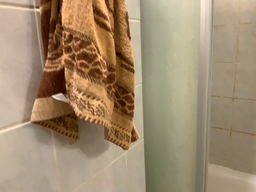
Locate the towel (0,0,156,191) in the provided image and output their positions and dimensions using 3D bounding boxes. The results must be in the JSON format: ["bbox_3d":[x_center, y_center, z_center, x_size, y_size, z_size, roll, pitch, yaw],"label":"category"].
[{"bbox_3d":[-0.070,-0.090,0.390,0.160,0.480,0.220,6,16,32],"label":"towel"}]
